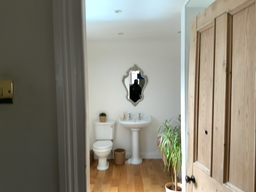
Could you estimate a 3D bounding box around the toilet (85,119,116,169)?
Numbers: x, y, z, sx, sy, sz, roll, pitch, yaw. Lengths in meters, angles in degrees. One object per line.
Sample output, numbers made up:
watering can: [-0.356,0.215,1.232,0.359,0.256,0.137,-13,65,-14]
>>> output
toilet: [-0.500,0.880,4.040,0.460,0.790,0.670,-1,2,1]

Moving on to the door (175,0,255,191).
door: [0.500,0.360,1.250,0.080,2.070,0.790,-1,2,-15]
